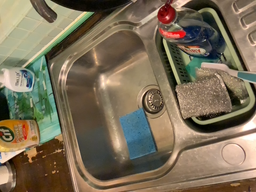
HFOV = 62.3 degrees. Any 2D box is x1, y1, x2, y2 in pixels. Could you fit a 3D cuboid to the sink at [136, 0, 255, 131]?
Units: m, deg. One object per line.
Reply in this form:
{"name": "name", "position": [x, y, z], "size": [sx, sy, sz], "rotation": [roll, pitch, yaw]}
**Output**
{"name": "sink", "position": [0.210, -0.080, 0.580], "size": [0.180, 0.280, 0.280], "rotation": [-26, 74, 32]}

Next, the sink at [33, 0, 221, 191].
{"name": "sink", "position": [-0.030, 0.050, 0.740], "size": [0.450, 0.280, 0.520], "rotation": [-26, 74, 32]}
